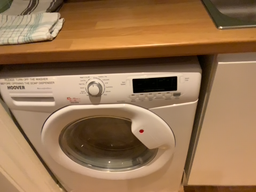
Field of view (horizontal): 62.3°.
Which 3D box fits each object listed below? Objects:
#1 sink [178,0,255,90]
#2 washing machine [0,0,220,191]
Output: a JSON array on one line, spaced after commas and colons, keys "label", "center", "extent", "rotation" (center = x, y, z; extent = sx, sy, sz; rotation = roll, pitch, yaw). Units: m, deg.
[{"label": "sink", "center": [0.450, -0.280, 0.770], "extent": [0.440, 0.210, 0.520], "rotation": [-2, 43, 5]}, {"label": "washing machine", "center": [-0.070, 0.030, 1.040], "extent": [0.640, 0.930, 0.650], "rotation": [-2, 43, 5]}]
